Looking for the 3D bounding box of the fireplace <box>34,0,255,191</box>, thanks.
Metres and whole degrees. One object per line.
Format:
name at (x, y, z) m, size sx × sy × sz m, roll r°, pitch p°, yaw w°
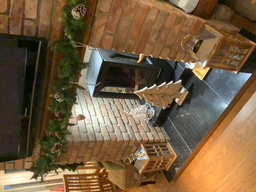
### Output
fireplace at (-0.030, -0.090, 2.050) m, size 1.720 × 1.430 × 1.180 m, roll -66°, pitch 35°, yaw 33°
